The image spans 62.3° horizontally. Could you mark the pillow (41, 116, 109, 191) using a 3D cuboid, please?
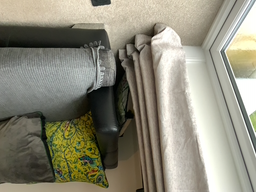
[{"bbox_3d":[-0.340,0.400,1.480,0.370,0.440,0.230,-5,134,-3],"label":"pillow"}]
